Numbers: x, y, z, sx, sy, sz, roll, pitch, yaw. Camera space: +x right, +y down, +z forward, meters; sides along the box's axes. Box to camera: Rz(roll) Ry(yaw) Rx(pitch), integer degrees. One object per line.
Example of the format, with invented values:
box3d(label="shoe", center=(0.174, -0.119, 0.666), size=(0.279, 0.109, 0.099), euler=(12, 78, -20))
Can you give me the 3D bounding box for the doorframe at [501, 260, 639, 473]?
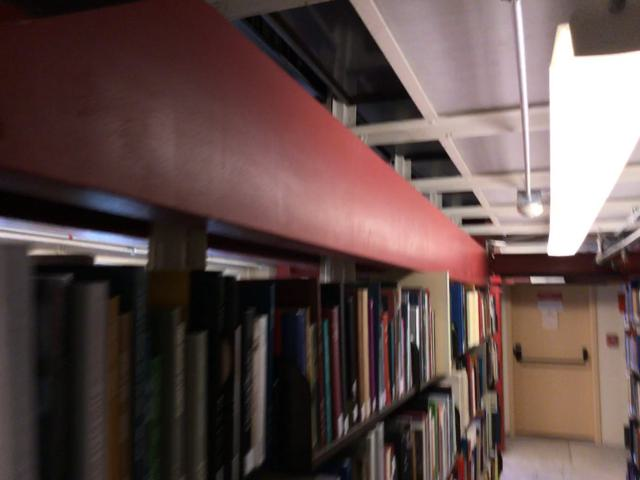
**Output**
box3d(label="doorframe", center=(2.590, 1.190, 5.720), size=(1.480, 1.960, 0.260), euler=(0, -2, 23))
